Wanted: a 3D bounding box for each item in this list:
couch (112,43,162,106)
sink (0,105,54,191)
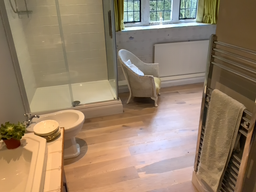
[{"bbox_3d":[0.160,-0.360,3.290,0.630,0.760,0.660,5,26,11],"label":"couch"},{"bbox_3d":[-0.630,0.350,0.970,0.460,0.260,0.750,-6,26,-12],"label":"sink"}]
